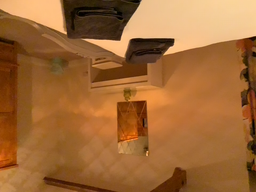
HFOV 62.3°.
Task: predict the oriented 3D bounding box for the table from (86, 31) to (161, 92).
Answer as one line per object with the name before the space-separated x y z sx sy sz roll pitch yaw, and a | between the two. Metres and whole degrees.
table | -0.100 -0.500 3.510 1.180 0.780 0.460 -4 176 33
